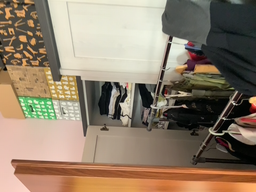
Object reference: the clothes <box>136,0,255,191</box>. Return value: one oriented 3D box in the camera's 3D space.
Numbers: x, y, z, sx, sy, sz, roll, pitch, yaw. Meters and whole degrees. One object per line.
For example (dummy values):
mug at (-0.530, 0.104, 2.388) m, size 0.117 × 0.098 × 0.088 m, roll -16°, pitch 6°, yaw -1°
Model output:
clothes at (0.840, 0.070, 1.070) m, size 1.310 × 1.480 × 0.580 m, roll 95°, pitch 177°, yaw -48°
